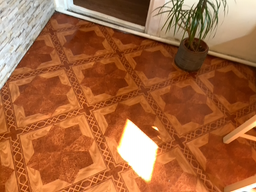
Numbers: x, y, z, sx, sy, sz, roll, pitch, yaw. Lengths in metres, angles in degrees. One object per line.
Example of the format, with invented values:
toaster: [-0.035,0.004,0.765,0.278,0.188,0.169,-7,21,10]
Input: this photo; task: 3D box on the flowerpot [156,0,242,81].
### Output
flowerpot: [0.520,-0.650,1.530,0.350,1.010,0.470,15,53,4]
